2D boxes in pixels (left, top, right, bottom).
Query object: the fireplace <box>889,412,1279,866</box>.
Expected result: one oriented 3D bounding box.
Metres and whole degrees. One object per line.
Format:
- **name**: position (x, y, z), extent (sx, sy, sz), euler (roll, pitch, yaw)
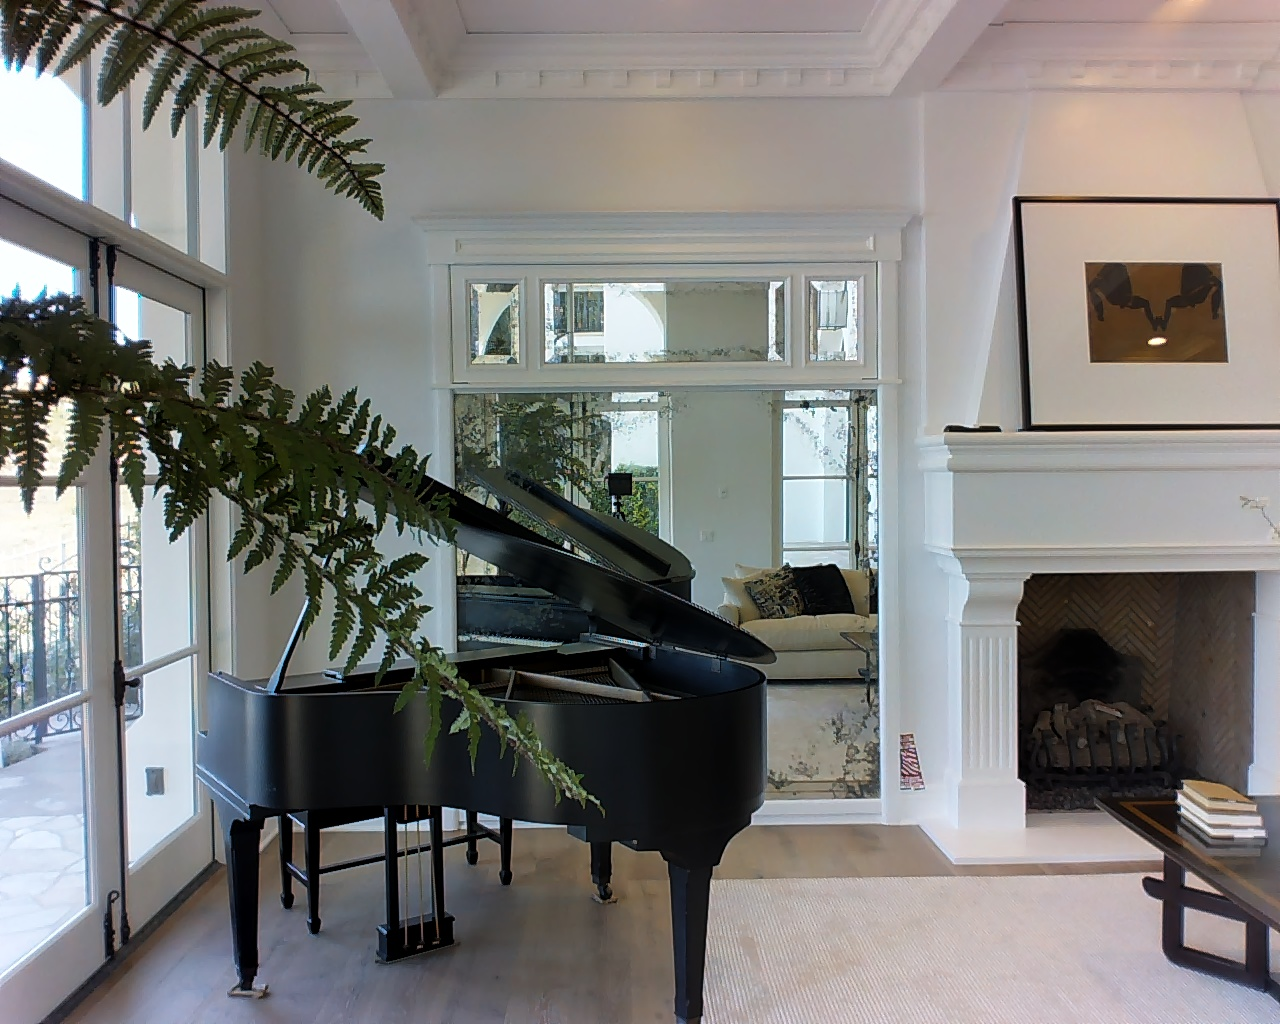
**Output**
- **fireplace**: position (2.359, 0.530, 5.130), extent (2.049, 1.911, 1.030), euler (-2, 1, -1)
